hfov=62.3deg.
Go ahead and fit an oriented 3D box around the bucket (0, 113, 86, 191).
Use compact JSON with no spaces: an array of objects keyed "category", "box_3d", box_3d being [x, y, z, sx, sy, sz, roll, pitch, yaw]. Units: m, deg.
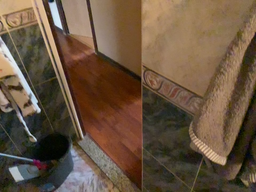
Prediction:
[{"category":"bucket","box_3d":[-0.570,0.410,1.490,0.220,0.320,0.460,31,53,31]}]
